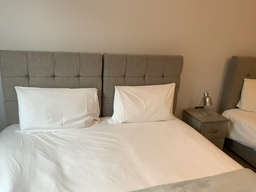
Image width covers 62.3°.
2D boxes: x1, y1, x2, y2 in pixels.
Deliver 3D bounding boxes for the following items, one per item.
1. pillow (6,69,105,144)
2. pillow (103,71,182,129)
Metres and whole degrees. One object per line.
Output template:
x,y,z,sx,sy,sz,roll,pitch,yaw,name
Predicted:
-0.670,0.120,2.040,0.740,0.460,0.200,23,8,-26,pillow
0.170,0.060,2.320,0.750,0.420,0.190,18,10,-28,pillow
